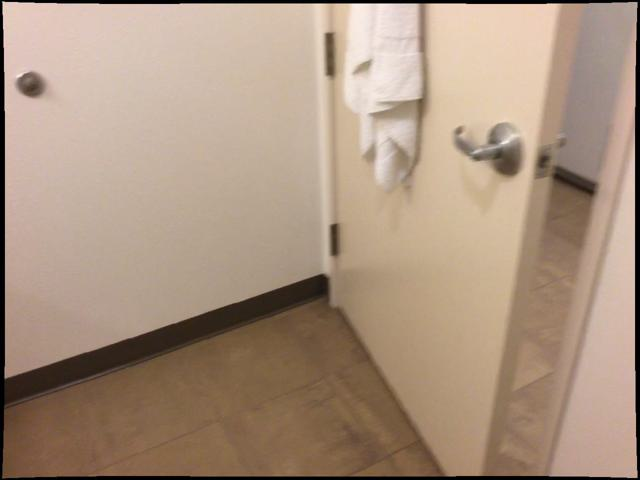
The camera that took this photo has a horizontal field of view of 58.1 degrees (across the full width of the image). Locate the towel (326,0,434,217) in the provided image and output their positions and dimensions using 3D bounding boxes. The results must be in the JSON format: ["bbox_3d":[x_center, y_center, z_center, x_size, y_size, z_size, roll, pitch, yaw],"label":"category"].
[{"bbox_3d":[0.120,-0.491,1.210,0.120,0.872,0.230,-18,35,-22],"label":"towel"}]

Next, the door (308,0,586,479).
[{"bbox_3d":[0.180,-0.351,1.330,0.120,1.924,0.980,-12,33,-14],"label":"door"}]
